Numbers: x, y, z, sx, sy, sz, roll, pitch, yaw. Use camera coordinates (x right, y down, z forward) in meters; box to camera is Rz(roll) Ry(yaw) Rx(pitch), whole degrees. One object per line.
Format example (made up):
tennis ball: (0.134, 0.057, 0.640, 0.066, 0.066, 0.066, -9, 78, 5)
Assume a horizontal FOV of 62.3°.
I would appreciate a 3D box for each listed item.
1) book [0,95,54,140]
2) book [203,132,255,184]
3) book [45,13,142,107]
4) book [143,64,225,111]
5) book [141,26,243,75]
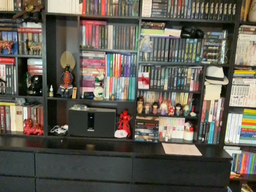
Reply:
book: (-1.190, 0.190, 2.060, 0.850, 0.340, 0.250, 4, 10, 2)
book: (1.050, 0.610, 2.130, 0.440, 0.390, 0.310, 4, 10, 0)
book: (-0.310, -0.320, 1.960, 0.810, 0.760, 0.240, 4, 10, 0)
book: (0.490, -0.090, 1.980, 0.650, 0.360, 0.300, 4, 10, 0)
book: (0.540, -0.410, 1.930, 0.820, 0.360, 0.240, 4, 10, 4)
